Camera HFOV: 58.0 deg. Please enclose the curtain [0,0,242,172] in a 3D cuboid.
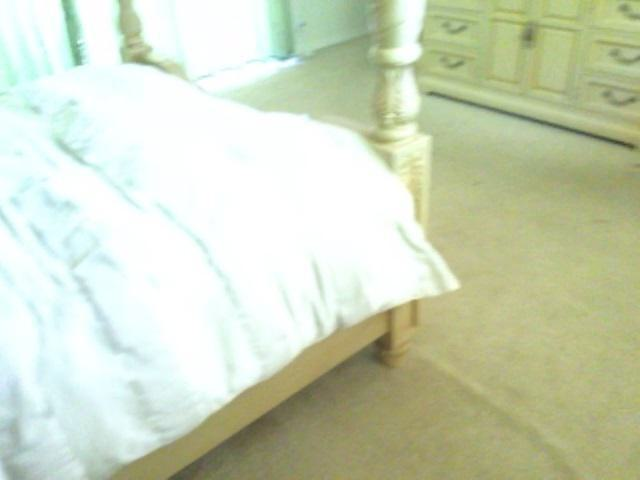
[{"bbox_3d":[-1.770,-1.180,3.270,2.720,1.380,0.270,-31,40,-29],"label":"curtain"}]
